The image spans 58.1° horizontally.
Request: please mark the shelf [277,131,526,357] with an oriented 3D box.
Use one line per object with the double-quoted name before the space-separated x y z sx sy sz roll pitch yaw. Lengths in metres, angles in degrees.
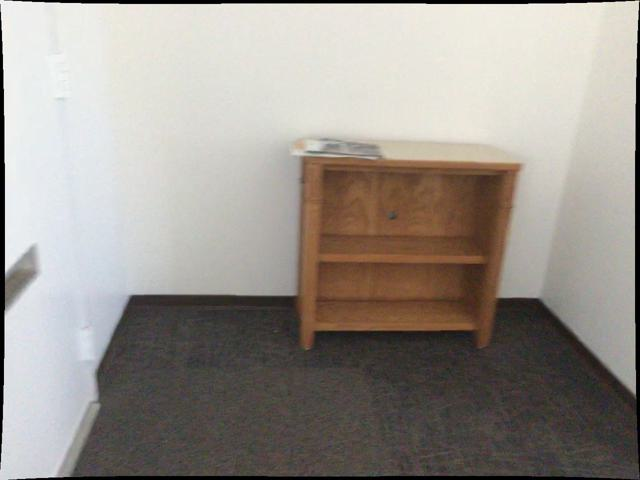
"shelf" 0.260 0.020 2.250 0.809 0.771 0.370 2 21 -7
